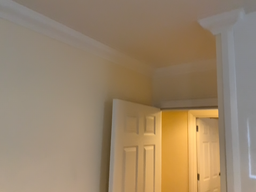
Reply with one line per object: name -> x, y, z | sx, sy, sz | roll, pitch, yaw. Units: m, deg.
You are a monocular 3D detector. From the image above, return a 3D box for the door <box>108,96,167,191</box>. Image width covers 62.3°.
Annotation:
door -> 0.130, 1.060, 2.060 | 0.060, 1.990, 0.970 | -4, -11, 35
